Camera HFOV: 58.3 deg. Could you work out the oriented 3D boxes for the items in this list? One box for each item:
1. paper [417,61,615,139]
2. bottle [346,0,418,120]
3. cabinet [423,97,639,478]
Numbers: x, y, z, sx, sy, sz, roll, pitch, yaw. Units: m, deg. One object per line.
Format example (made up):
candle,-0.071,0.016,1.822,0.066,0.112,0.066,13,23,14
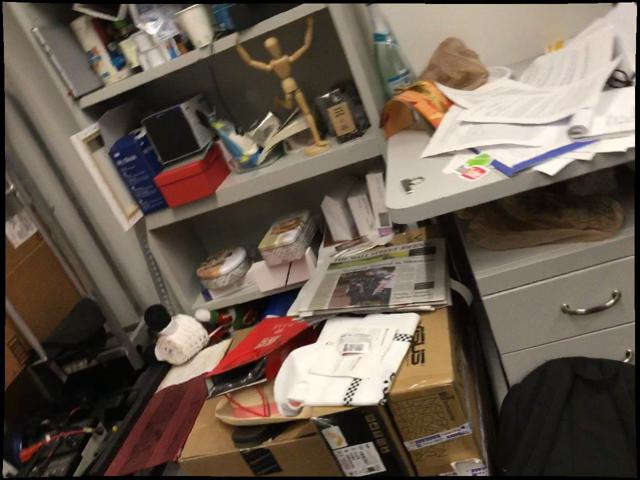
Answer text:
paper,0.390,-0.280,1.170,0.220,0.050,0.310,-37,28,-29
bottle,0.170,-0.491,1.530,0.100,0.280,0.180,-16,25,15
cabinet,0.559,0.080,1.390,0.440,0.580,0.640,-16,25,15
